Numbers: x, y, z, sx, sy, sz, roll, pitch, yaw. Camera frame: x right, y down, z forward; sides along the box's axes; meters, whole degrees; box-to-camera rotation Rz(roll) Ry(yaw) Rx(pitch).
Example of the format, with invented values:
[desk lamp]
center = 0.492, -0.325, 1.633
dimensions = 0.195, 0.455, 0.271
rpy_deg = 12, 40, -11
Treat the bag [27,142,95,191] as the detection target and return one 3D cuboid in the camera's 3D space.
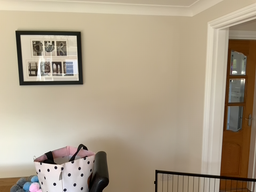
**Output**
[bag]
center = -0.370, 0.500, 1.270
dimensions = 0.330, 0.320, 0.330
rpy_deg = -1, 8, -10
